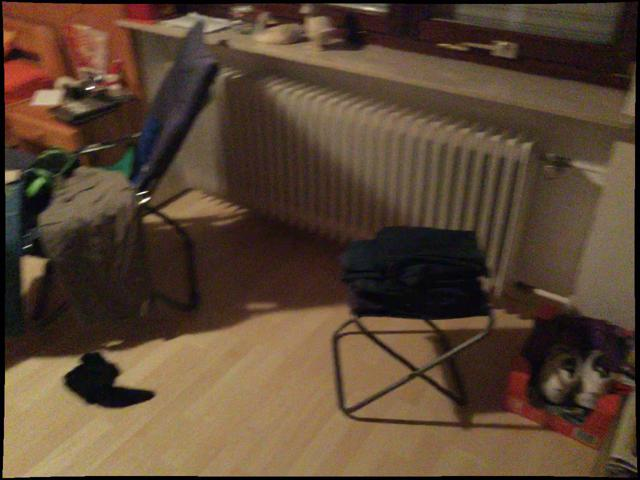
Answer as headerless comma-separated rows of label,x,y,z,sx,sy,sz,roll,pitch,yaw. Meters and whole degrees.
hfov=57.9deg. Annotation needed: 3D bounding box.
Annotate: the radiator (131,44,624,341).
radiator,0.070,-0.270,2.310,1.909,0.660,0.240,20,40,26
